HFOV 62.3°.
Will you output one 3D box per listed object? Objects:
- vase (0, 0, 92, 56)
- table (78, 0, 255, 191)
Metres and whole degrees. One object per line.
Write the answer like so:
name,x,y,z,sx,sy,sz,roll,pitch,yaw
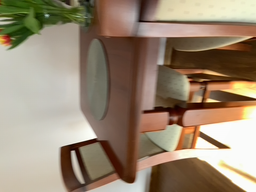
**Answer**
vase,-0.410,-0.390,1.010,0.360,0.390,0.330,-141,52,-60
table,0.240,-0.480,0.970,0.790,0.780,1.390,-144,55,-61
